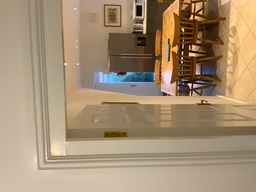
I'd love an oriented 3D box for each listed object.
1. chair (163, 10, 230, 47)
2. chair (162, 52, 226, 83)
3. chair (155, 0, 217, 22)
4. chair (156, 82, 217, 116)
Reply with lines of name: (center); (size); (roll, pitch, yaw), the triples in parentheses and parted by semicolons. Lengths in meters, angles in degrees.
chair: (1.020, -1.020, 3.300); (0.560, 0.820, 0.490); (-113, 23, -77)
chair: (1.020, -0.450, 3.400); (0.550, 0.820, 0.440); (-127, 37, -81)
chair: (0.960, -1.590, 3.590); (0.520, 0.880, 0.510); (-124, 34, -81)
chair: (0.980, 0.030, 3.670); (0.540, 0.850, 0.440); (-108, 19, -74)
